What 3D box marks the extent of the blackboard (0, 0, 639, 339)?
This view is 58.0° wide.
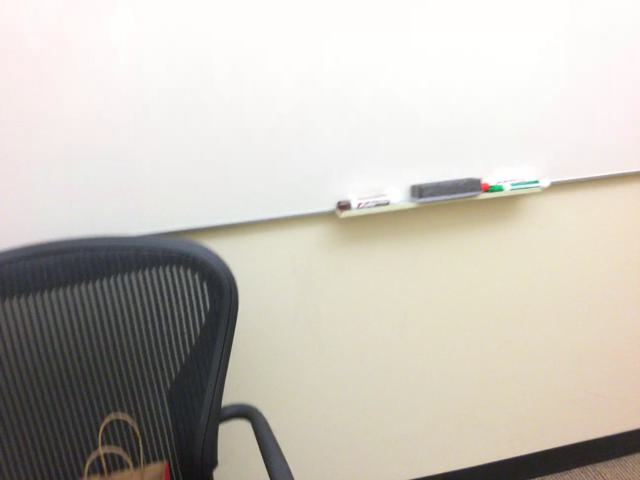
[{"bbox_3d":[0.400,-0.320,1.110,2.560,0.570,0.150,-11,21,-12],"label":"blackboard"}]
